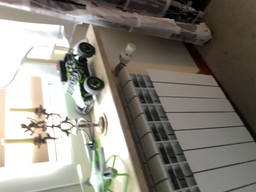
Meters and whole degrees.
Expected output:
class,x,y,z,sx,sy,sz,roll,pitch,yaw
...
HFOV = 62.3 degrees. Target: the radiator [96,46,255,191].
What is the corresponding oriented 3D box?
class,x,y,z,sx,sy,sz,roll,pitch,yaw
radiator,0.370,0.300,0.800,0.200,0.740,1.080,-56,43,43
